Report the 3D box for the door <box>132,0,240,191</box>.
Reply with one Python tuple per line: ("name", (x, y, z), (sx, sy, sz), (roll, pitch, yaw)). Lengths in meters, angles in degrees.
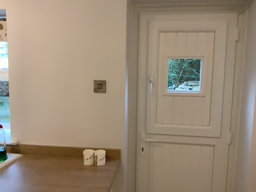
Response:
("door", (0.440, 0.290, 1.780), (0.790, 2.060, 0.030), (1, 7, 7))
